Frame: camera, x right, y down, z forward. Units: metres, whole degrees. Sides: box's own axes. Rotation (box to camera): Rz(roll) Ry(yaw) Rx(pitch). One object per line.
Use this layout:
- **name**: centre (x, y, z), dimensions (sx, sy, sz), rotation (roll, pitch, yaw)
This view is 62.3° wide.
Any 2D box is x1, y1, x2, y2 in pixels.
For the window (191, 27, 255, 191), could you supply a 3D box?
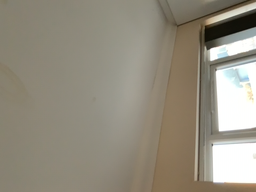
- **window**: centre (1.220, -0.070, 1.560), dimensions (0.100, 1.450, 1.550), rotation (51, -140, -37)
